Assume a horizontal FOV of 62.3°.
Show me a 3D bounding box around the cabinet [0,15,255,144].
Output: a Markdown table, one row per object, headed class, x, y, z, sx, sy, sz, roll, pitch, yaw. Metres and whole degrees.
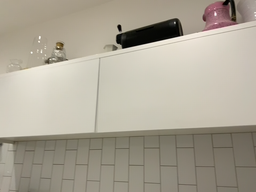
| class | x | y | z | sx | sy | sz | roll | pitch | yaw |
| --- | --- | --- | --- | --- | --- | --- | --- | --- | --- |
| cabinet | -0.140 | 0.010 | 1.350 | 2.050 | 0.500 | 0.350 | -6 | -20 | 22 |
